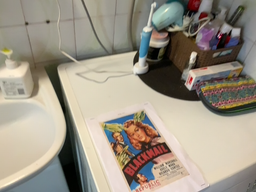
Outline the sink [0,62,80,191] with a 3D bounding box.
[{"bbox_3d":[-0.470,0.130,0.600,0.550,0.140,0.420,-14,49,-22],"label":"sink"}]
